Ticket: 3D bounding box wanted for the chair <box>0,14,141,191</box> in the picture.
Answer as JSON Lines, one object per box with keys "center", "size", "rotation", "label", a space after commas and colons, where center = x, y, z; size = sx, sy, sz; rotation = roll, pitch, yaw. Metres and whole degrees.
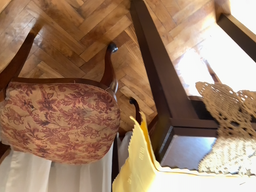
{"center": [-0.290, 0.130, 0.740], "size": [0.500, 0.890, 0.410], "rotation": [6, 130, -13], "label": "chair"}
